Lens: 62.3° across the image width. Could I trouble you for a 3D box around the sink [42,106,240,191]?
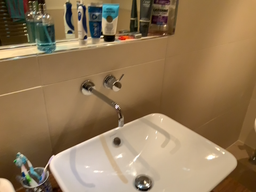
[{"bbox_3d":[0.040,0.270,0.790,0.540,0.140,0.460,-18,33,-34],"label":"sink"}]
